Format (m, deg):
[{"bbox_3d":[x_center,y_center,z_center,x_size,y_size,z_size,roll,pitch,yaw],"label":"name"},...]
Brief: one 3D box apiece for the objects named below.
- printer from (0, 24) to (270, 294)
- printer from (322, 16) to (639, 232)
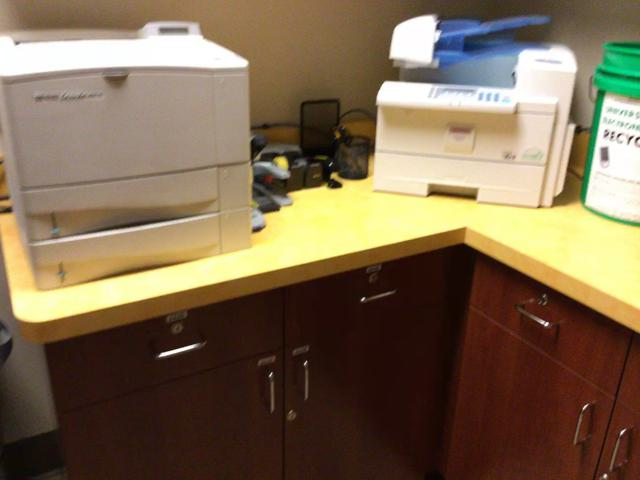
[{"bbox_3d":[-0.380,-0.200,1.130,0.420,0.390,0.430,-10,25,-28],"label":"printer"},{"bbox_3d":[0.370,-0.330,1.450,0.540,0.400,0.500,-10,25,-28],"label":"printer"}]
